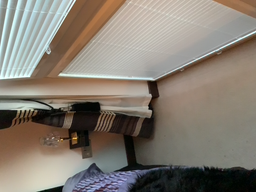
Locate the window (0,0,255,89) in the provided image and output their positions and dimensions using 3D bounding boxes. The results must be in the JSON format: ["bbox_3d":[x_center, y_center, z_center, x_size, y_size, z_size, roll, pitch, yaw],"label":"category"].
[{"bbox_3d":[-0.380,-0.210,0.760,1.120,2.160,0.050,-23,72,52],"label":"window"}]
